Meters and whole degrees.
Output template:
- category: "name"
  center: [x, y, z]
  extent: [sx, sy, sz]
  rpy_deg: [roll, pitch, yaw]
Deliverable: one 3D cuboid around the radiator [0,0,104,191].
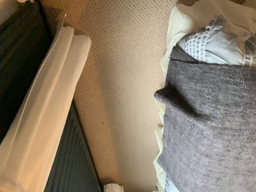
- category: "radiator"
  center: [-0.260, 0.340, 1.040]
  extent: [0.050, 0.730, 1.550]
  rpy_deg: [-5, 129, 0]
